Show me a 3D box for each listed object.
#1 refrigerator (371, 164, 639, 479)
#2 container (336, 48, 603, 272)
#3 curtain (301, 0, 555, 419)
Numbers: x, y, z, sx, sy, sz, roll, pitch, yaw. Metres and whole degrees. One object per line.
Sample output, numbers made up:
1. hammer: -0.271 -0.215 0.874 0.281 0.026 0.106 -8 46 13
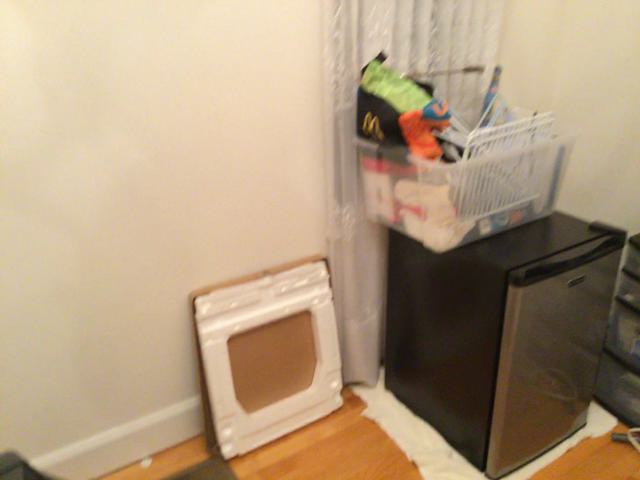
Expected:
1. refrigerator: 0.540 0.230 1.740 0.590 0.750 0.470 -14 25 -30
2. container: 0.400 -0.270 1.640 0.570 0.480 0.420 -14 25 -30
3. curtain: 0.350 -0.260 1.870 0.800 1.550 0.220 -14 25 -30
